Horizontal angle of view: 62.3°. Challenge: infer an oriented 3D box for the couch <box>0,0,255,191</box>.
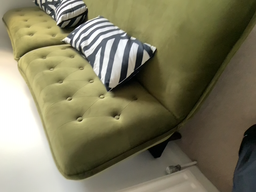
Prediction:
[{"bbox_3d":[-0.220,-0.480,1.280,1.680,0.770,0.920,48,126,40],"label":"couch"}]
